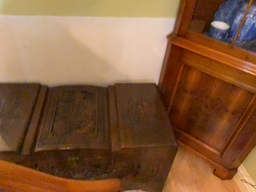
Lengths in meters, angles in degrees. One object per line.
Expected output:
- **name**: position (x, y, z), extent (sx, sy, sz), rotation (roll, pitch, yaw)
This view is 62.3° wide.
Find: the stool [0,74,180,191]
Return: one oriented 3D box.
- **stool**: position (-0.300, 0.240, 1.180), extent (0.940, 0.490, 0.500), rotation (-3, 42, -11)
